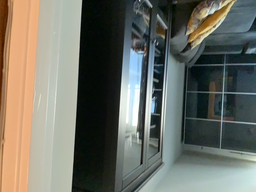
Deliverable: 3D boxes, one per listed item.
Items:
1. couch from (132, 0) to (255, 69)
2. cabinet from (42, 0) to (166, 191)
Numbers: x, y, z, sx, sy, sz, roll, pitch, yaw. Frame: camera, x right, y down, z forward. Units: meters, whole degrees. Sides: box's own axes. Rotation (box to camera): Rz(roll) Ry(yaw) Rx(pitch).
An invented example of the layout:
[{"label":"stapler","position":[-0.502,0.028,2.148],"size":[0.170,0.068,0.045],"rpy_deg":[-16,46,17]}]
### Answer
[{"label":"couch","position":[1.040,-0.950,2.860],"size":[1.120,0.790,2.390],"rpy_deg":[4,179,23]},{"label":"cabinet","position":[-0.050,-0.420,1.460],"size":[0.330,2.000,0.870],"rpy_deg":[4,179,26]}]
